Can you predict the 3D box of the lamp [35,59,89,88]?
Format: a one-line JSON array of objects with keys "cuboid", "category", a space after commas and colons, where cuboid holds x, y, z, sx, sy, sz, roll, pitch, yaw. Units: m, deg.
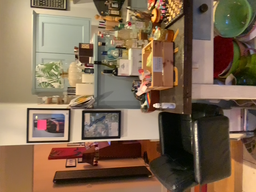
[{"cuboid": [-0.650, -0.210, 2.140, 0.270, 0.490, 0.250, -176, 87, -76], "category": "lamp"}]
